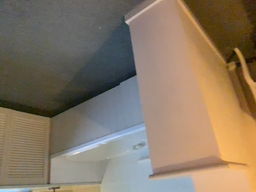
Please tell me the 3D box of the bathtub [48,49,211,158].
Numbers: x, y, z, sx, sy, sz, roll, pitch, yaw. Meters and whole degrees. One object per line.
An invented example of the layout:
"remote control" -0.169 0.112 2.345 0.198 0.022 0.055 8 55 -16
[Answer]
"bathtub" -0.070 0.240 2.400 1.630 0.590 0.790 -23 152 31
